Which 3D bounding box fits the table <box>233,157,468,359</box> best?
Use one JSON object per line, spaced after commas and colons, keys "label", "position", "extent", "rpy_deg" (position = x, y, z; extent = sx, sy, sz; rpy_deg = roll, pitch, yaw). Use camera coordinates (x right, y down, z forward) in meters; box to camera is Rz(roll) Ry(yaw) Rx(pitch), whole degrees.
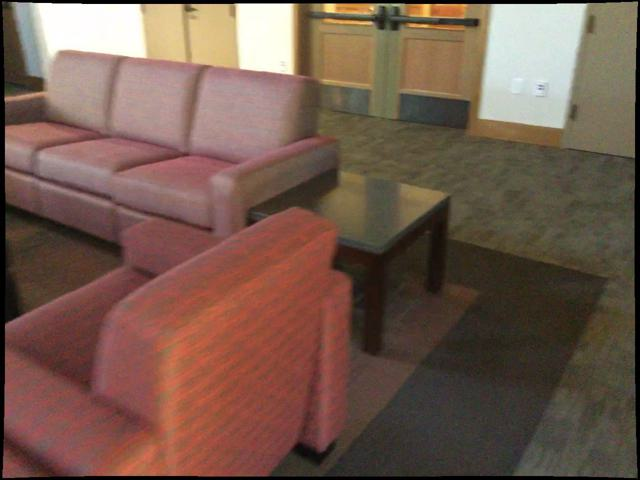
{"label": "table", "position": [0.140, 0.020, 2.450], "extent": [0.700, 0.460, 0.670], "rpy_deg": [17, 33, 33]}

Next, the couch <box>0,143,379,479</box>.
{"label": "couch", "position": [-0.430, 0.320, 1.470], "extent": [0.820, 0.811, 0.850], "rpy_deg": [17, 33, 33]}

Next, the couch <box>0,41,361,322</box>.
{"label": "couch", "position": [-0.939, -0.480, 3.070], "extent": [2.199, 0.861, 0.840], "rpy_deg": [17, 33, 33]}
